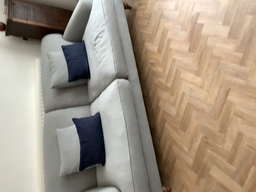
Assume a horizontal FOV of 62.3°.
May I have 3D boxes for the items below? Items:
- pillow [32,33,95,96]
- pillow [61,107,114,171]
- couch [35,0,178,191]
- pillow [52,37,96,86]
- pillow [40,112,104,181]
[{"bbox_3d":[-0.710,-0.360,2.410,0.130,0.480,0.550,-35,29,52],"label":"pillow"},{"bbox_3d":[-0.350,0.380,1.910,0.110,0.270,0.480,-36,25,50],"label":"pillow"},{"bbox_3d":[-0.420,0.010,2.270,1.150,0.840,2.120,-35,58,50],"label":"couch"},{"bbox_3d":[-0.580,-0.390,2.350,0.100,0.280,0.520,-44,23,50],"label":"pillow"},{"bbox_3d":[-0.530,0.490,2.090,0.140,0.390,0.510,-36,21,50],"label":"pillow"}]
